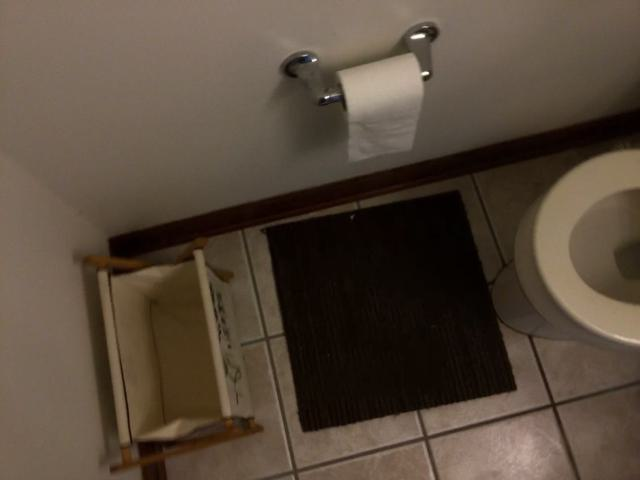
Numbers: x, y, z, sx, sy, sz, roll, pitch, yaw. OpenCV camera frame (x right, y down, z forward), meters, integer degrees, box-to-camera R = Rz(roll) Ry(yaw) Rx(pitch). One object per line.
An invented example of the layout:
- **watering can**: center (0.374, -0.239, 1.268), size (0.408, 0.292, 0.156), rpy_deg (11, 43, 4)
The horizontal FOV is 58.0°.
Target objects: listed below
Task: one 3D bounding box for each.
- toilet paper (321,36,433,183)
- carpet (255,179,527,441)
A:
- **toilet paper**: center (0.080, -0.200, 0.940), size (0.140, 0.250, 0.090), rpy_deg (-13, 72, -4)
- **carpet**: center (0.150, 0.150, 1.370), size (0.510, 0.060, 0.510), rpy_deg (-13, 72, -4)
